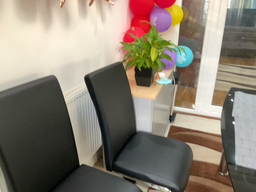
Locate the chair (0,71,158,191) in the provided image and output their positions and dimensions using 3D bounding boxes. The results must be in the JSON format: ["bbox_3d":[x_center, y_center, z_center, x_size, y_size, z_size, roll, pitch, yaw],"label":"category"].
[{"bbox_3d":[-0.260,0.470,1.060,0.660,1.040,0.420,9,24,20],"label":"chair"}]

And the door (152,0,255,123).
[{"bbox_3d":[1.050,-0.820,2.490,1.440,2.300,0.070,9,24,18],"label":"door"}]

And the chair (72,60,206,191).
[{"bbox_3d":[0.070,0.340,1.420,0.660,1.010,0.420,12,25,25],"label":"chair"}]
